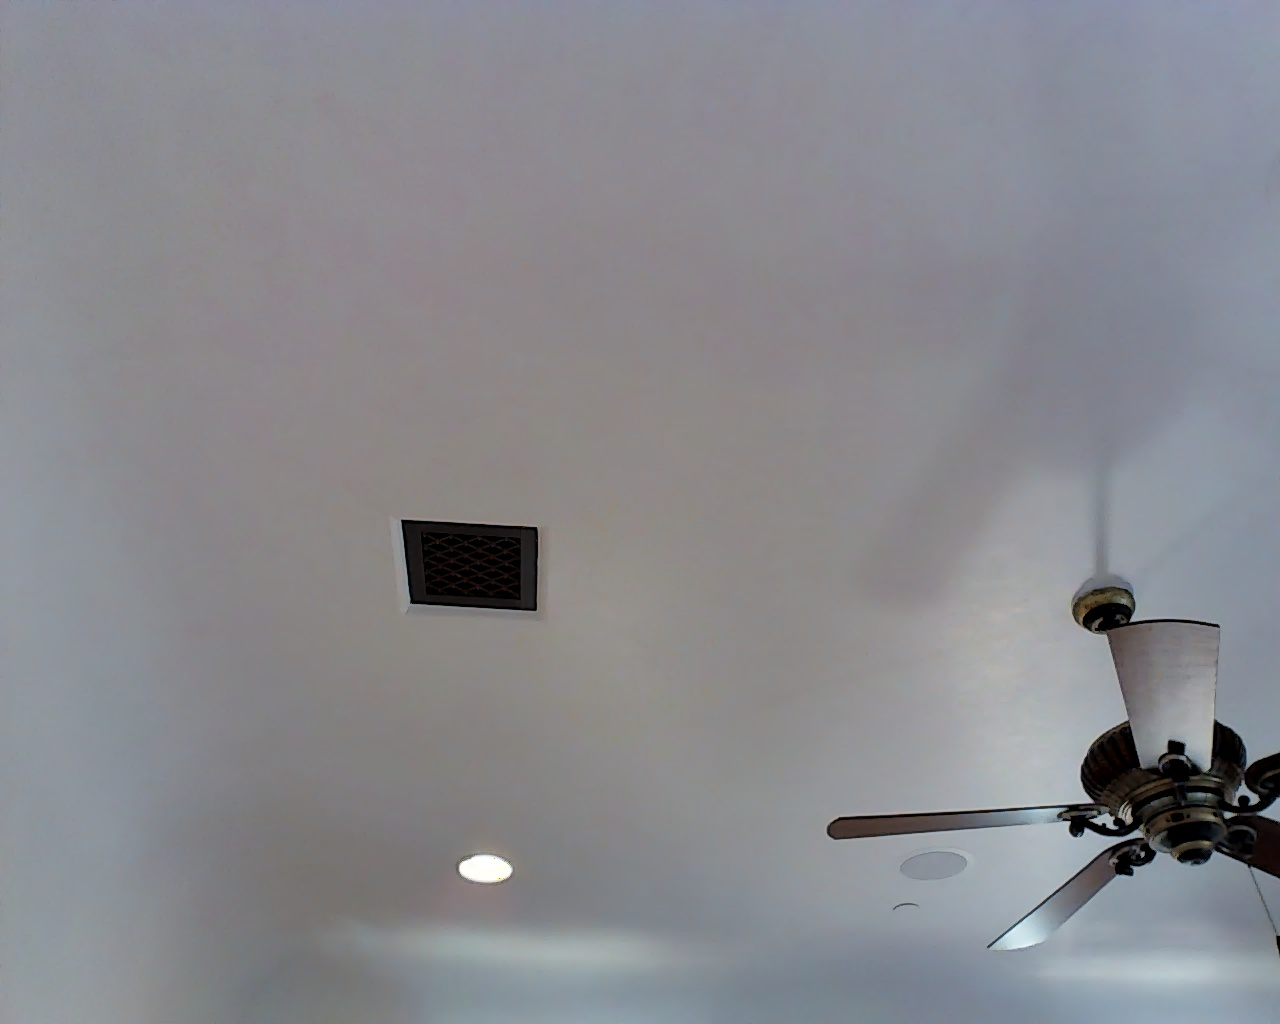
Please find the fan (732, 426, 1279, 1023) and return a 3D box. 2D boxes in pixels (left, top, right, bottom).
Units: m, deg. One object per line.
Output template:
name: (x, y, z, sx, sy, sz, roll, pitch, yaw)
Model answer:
fan: (0.990, 0.380, 2.110, 1.410, 0.590, 1.310, 3, 24, -4)
